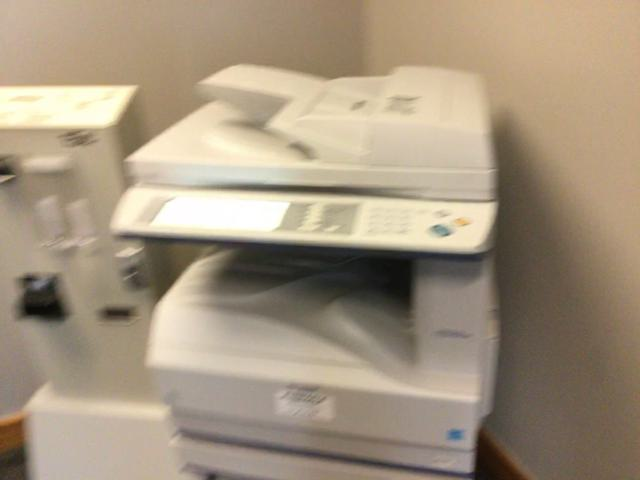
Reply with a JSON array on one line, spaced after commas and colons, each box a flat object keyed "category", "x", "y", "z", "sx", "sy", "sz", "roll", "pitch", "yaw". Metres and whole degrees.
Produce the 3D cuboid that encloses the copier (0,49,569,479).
[{"category": "copier", "x": 0.040, "y": 0.210, "z": 1.220, "sx": 0.730, "sy": 1.070, "sz": 0.770, "roll": 6, "pitch": 26, "yaw": 18}]
